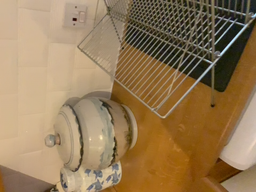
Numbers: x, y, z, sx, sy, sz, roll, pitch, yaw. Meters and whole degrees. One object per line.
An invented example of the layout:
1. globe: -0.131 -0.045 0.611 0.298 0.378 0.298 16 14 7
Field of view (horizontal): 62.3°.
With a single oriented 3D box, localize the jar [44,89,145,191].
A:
1. jar: -0.180 0.270 0.960 0.280 0.280 0.520 41 126 43
